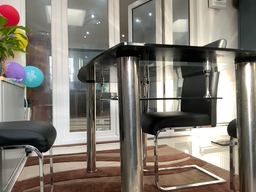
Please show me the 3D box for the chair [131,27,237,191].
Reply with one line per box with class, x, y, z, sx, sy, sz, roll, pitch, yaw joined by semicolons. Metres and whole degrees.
chair;0.380;0.090;1.560;0.570;1.000;0.470;-1;0;-20
